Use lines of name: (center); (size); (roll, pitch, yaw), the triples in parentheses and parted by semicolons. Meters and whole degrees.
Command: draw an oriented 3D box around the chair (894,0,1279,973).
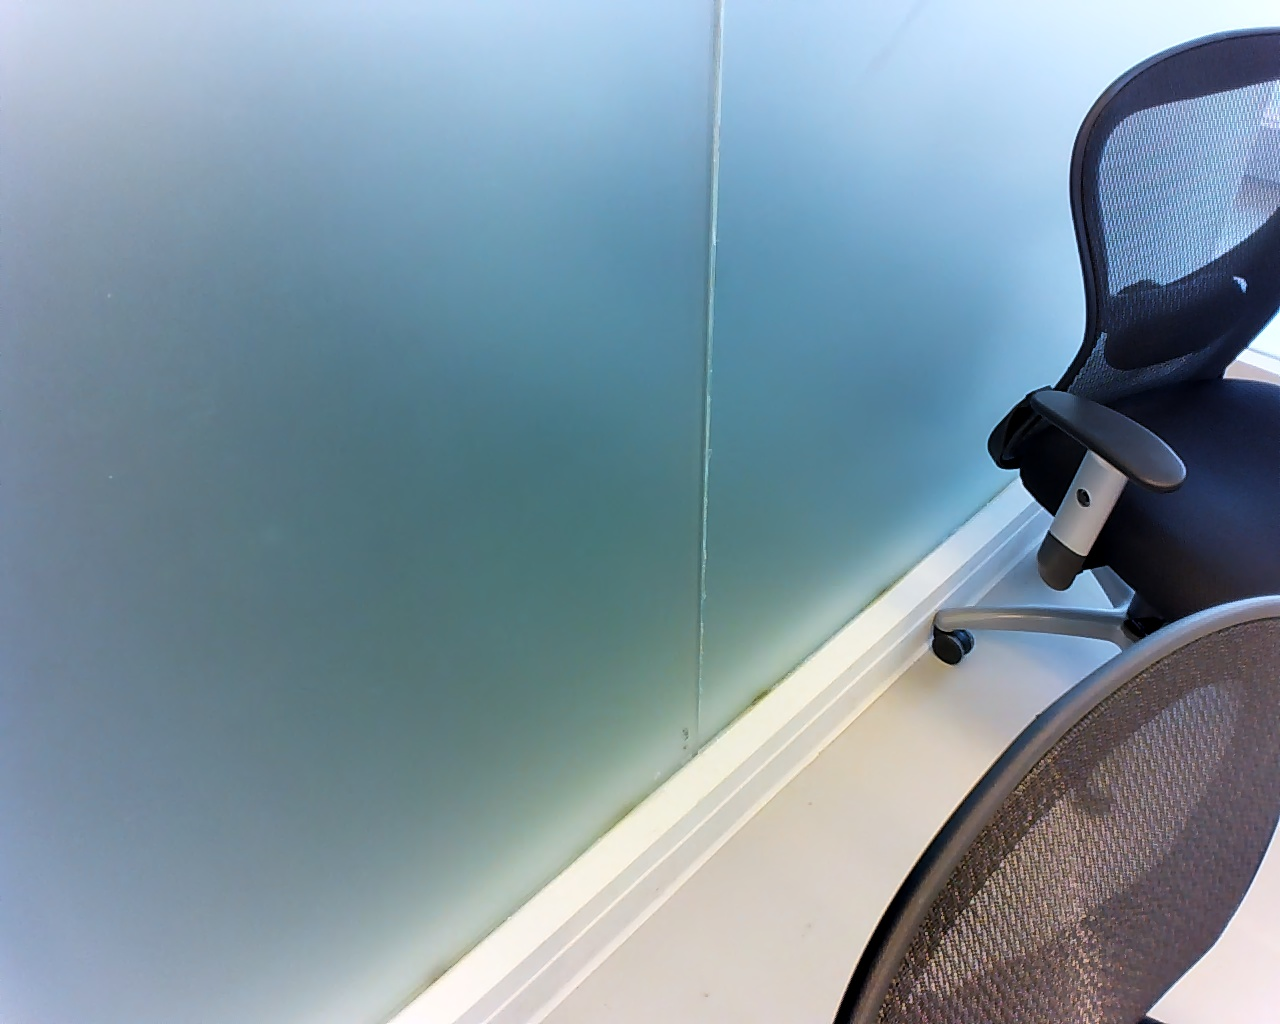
chair: (0.930, -0.070, 1.550); (0.660, 1.060, 0.770); (30, 50, 32)
